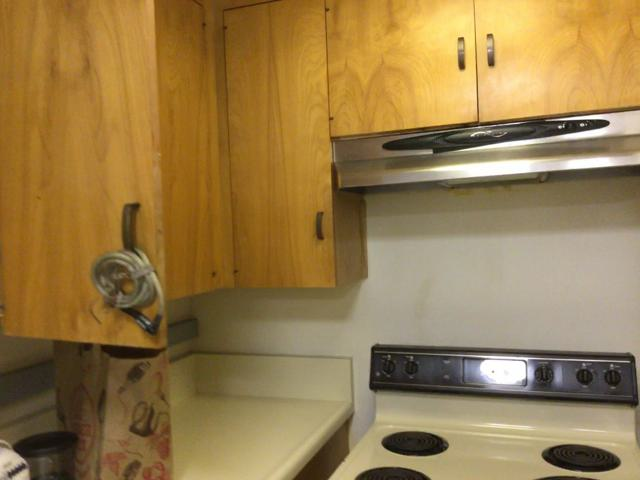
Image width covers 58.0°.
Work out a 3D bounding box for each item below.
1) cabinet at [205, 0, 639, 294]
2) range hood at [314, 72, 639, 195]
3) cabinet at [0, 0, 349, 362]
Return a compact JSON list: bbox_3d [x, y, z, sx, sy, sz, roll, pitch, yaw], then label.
[{"bbox_3d":[0.320,-0.350,1.750,1.280,0.970,0.360,-3,0,21],"label":"cabinet"},{"bbox_3d":[0.430,-0.260,1.510,0.890,0.210,0.150,-3,0,21],"label":"range hood"},{"bbox_3d":[-0.410,-0.310,1.420,0.640,1.000,0.970,-3,0,21],"label":"cabinet"}]
